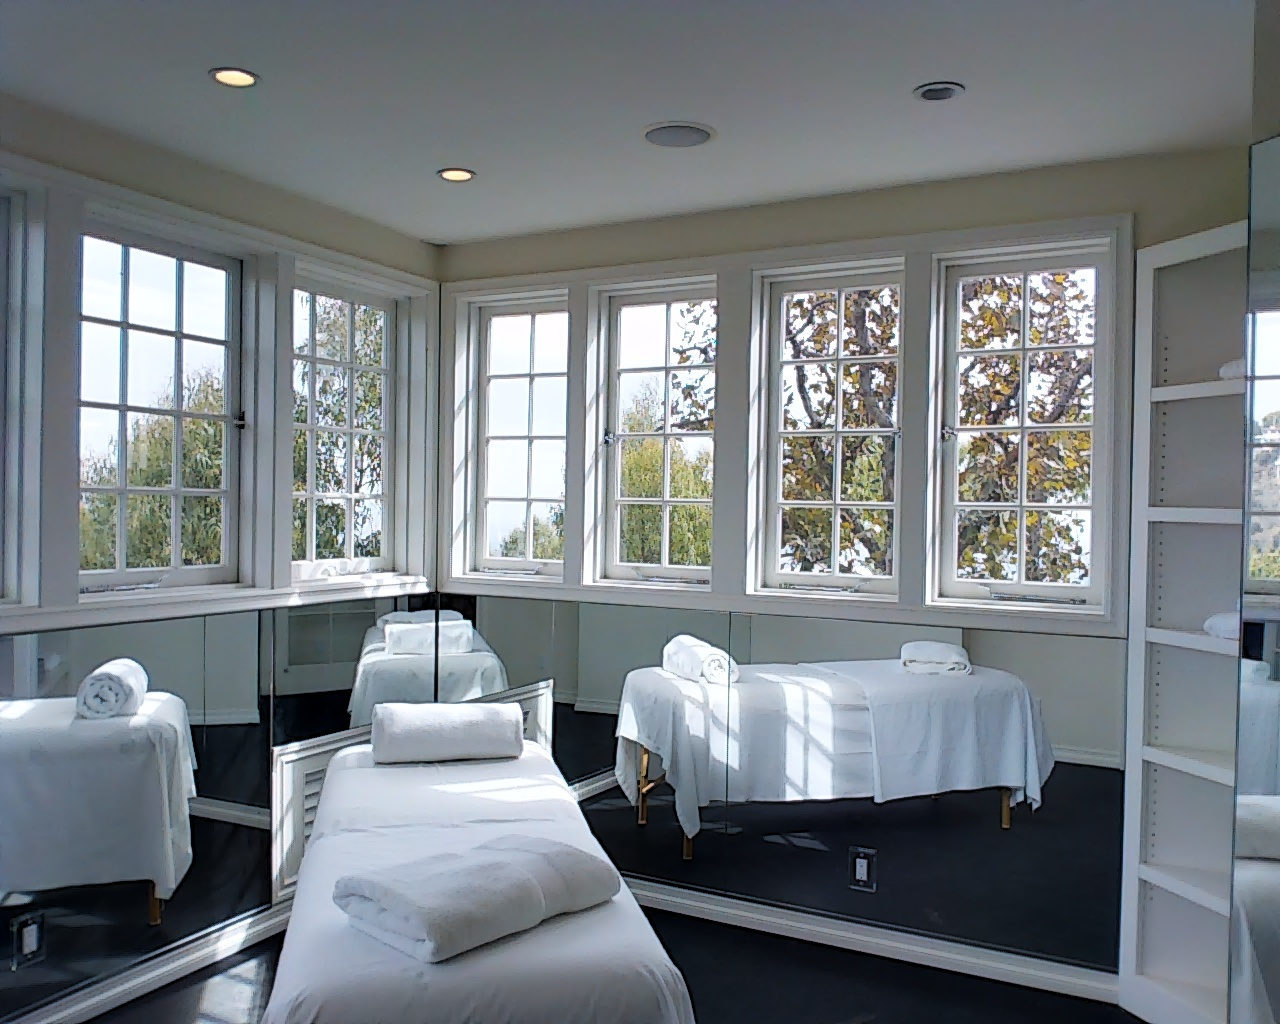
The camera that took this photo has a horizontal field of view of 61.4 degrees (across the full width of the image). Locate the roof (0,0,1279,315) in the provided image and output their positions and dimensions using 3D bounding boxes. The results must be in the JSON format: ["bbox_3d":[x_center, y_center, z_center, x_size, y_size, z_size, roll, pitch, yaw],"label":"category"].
[{"bbox_3d":[0.040,-0.940,2.000,3.700,0.330,3.770,1,1,27],"label":"roof"}]
